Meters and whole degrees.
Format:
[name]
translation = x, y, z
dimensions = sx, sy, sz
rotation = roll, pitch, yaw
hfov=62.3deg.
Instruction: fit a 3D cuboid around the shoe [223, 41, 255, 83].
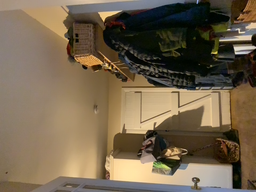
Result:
[shoe]
translation = 1.450, -0.390, 2.620
dimensions = 0.570, 0.370, 0.420
rotation = 3, -93, -80
